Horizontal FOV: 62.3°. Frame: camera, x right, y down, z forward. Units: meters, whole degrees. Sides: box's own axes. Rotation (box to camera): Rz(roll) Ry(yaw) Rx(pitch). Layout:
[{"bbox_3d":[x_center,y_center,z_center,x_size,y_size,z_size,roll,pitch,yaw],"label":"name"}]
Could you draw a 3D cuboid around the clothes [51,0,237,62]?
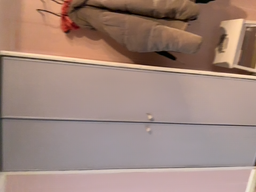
[{"bbox_3d":[0.080,-0.520,1.420,0.460,1.070,0.410,-131,46,-69],"label":"clothes"}]
